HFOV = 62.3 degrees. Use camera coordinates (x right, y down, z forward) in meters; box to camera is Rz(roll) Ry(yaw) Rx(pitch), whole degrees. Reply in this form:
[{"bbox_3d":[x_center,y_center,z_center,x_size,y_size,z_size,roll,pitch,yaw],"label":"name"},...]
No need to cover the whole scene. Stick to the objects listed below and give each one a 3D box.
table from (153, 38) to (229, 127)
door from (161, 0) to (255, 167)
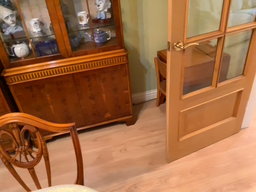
[{"bbox_3d":[0.570,-0.150,2.100,0.490,0.640,0.490,-13,34,-10],"label":"table"},{"bbox_3d":[0.520,-0.380,1.280,0.710,1.980,0.060,-19,36,-19],"label":"door"}]
